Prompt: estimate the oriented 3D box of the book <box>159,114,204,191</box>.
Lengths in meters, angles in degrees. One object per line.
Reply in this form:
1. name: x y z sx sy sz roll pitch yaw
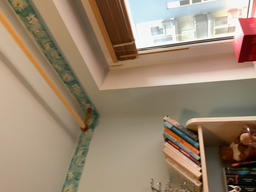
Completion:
1. book: 0.280 0.320 1.110 0.200 0.190 0.400 69 -157 -46
